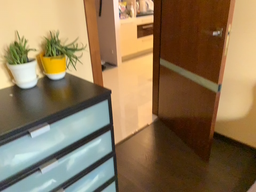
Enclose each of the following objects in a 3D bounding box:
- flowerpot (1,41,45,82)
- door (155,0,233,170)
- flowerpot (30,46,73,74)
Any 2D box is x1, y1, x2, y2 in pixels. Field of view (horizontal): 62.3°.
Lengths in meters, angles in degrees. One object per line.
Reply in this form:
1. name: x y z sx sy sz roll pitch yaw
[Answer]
1. flowerpot: -0.560 -0.190 1.140 0.140 0.170 0.140 -23 32 -38
2. door: 0.460 -0.480 1.710 0.060 2.140 0.780 -12 27 -20
3. flowerpot: -0.450 -0.220 1.260 0.180 0.110 0.140 -23 32 -38
